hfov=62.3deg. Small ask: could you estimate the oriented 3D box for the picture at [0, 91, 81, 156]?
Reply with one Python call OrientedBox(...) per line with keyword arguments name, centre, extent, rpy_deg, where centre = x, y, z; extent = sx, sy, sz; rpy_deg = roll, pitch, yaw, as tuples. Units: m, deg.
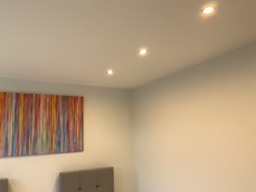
OrientedBox(name="picture", centre=(-1.230, 0.370, 2.890), extent=(1.190, 0.810, 0.050), rpy_deg=(4, -13, -31))
